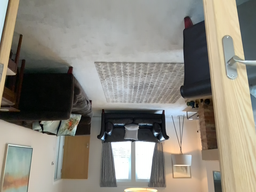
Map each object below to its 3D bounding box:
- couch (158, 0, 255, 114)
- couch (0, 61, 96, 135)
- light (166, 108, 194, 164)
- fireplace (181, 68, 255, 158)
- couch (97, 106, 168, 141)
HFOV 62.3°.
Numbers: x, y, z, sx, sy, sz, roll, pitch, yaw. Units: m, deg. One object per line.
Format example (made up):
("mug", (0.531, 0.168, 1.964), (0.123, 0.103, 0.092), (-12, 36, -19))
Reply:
("couch", (0.990, -0.390, 1.950), (0.940, 0.870, 1.030), (13, 160, -37))
("couch", (-1.380, 0.210, 4.180), (1.210, 0.860, 2.310), (1, 164, -2))
("light", (1.630, 1.300, 6.820), (0.590, 1.650, 0.820), (1, 164, -2))
("fireplace", (1.880, 0.490, 4.140), (1.100, 1.350, 2.010), (1, 164, -1))
("couch", (0.120, 0.890, 6.480), (1.960, 0.890, 1.070), (1, 164, -2))
